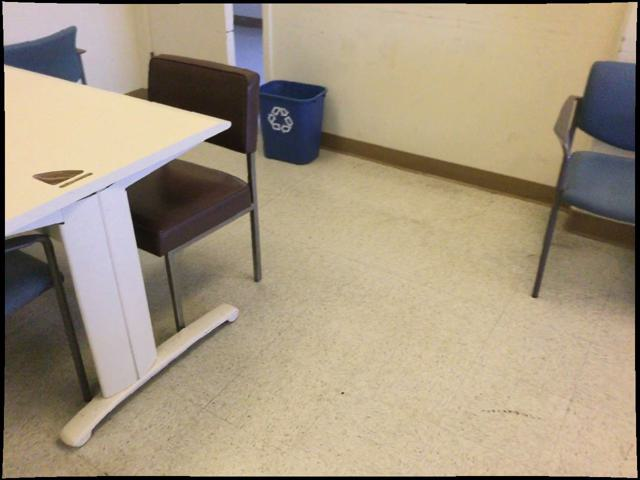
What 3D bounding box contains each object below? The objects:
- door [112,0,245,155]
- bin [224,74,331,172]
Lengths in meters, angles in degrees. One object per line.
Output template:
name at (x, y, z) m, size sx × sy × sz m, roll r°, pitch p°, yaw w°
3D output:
door at (-0.868, -1.404, 3.240) m, size 0.110 × 1.583 × 1.179 m, roll -25°, pitch 40°, yaw -36°
bin at (-0.229, -0.662, 3.210) m, size 0.489 × 0.371 × 0.310 m, roll 19°, pitch 37°, yaw 27°
